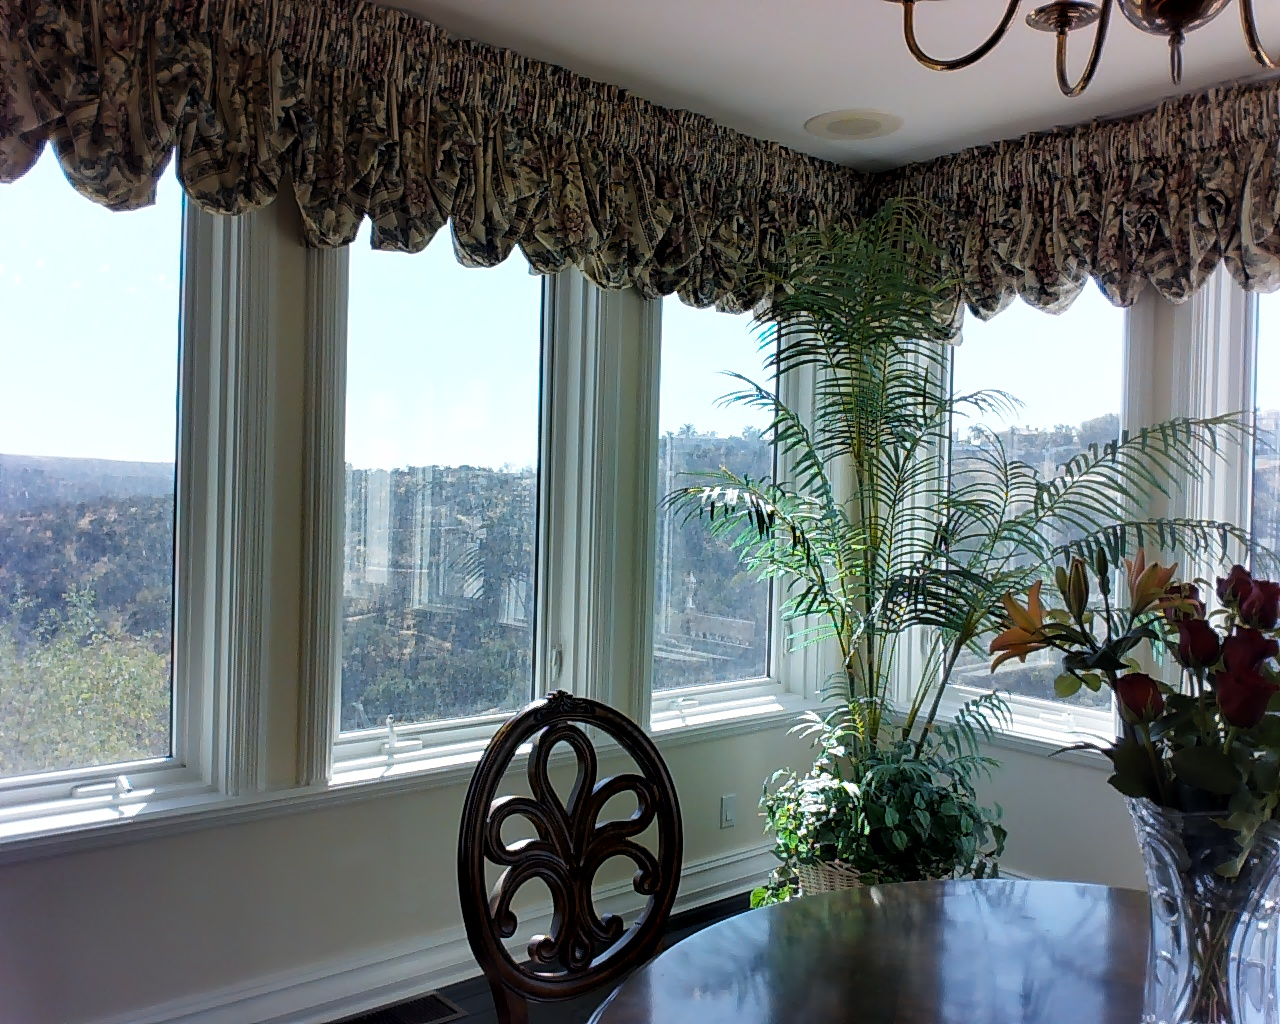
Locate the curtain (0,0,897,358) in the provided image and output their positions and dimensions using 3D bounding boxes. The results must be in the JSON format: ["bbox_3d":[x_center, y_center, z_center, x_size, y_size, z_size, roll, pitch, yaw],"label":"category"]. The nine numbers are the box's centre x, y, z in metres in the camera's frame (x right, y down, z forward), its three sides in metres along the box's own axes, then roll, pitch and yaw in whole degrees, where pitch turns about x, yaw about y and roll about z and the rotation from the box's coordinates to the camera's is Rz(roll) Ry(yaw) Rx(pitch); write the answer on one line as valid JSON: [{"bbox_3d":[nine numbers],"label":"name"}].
[{"bbox_3d":[-0.910,-0.970,2.730,4.620,0.650,0.310,1,1,-40],"label":"curtain"}]

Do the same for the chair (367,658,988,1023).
[{"bbox_3d":[0.060,0.870,1.870,0.760,1.070,0.750,2,1,44],"label":"chair"}]
